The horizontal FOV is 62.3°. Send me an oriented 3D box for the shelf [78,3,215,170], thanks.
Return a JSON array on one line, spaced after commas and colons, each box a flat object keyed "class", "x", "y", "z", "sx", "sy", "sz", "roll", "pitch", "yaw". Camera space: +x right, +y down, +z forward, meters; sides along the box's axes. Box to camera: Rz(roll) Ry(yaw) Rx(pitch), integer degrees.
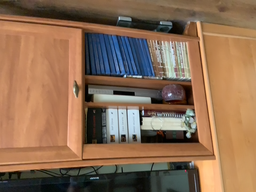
[{"class": "shelf", "x": 0.040, "y": -0.010, "z": 1.250, "sx": 0.610, "sy": 0.760, "sz": 0.510, "roll": 2, "pitch": 167, "yaw": -16}]
